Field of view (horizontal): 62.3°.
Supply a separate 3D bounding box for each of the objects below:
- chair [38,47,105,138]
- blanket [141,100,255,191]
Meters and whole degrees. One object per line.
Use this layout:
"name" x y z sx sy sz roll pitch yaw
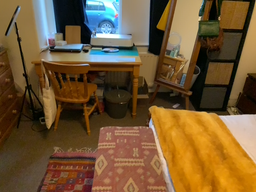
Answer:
"chair" -0.580 -0.060 2.400 0.480 0.810 0.530 9 28 12
"blanket" 0.520 0.450 1.400 0.690 0.140 1.490 1 27 -4
